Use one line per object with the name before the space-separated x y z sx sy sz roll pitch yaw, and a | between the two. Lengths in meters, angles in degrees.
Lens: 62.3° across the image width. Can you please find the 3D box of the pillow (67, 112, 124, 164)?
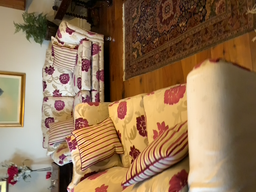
pillow | -0.280 0.360 1.890 0.110 0.380 0.430 -43 65 17

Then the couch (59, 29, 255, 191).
couch | 0.130 0.460 1.600 1.830 0.890 1.090 -14 76 60

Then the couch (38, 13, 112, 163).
couch | -0.910 -0.070 3.490 1.060 0.900 2.020 -15 75 60

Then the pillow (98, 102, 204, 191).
pillow | 0.130 0.280 1.140 0.180 0.370 0.450 46 112 33

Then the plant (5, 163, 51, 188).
plant | -1.580 1.250 3.370 0.240 0.630 0.260 -16 74 60
